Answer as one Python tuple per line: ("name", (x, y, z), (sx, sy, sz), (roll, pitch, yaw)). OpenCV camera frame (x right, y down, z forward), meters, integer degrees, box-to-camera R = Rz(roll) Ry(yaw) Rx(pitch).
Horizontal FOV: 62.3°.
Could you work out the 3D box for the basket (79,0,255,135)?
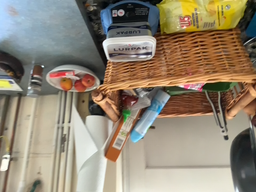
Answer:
("basket", (0.190, -0.040, 0.830), (0.580, 0.270, 0.550), (-4, 160, 7))
